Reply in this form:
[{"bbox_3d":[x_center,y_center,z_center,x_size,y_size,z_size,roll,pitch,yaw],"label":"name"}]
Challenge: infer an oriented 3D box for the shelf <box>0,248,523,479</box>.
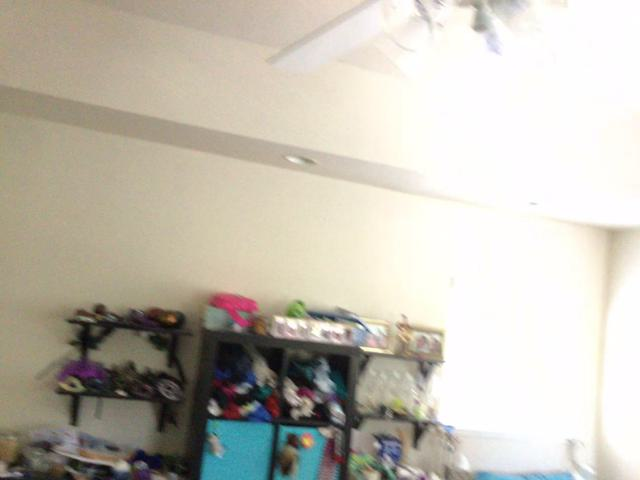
[{"bbox_3d":[-0.370,1.070,2.850,2.620,1.660,0.630,9,-12,-12],"label":"shelf"}]
